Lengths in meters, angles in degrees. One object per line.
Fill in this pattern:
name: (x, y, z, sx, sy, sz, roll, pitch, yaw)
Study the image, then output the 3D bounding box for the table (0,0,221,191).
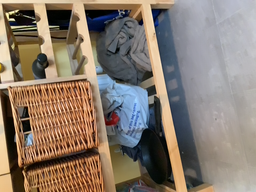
table: (-0.190, 0.070, 0.970, 0.550, 0.840, 0.940, 160, 100, -68)
